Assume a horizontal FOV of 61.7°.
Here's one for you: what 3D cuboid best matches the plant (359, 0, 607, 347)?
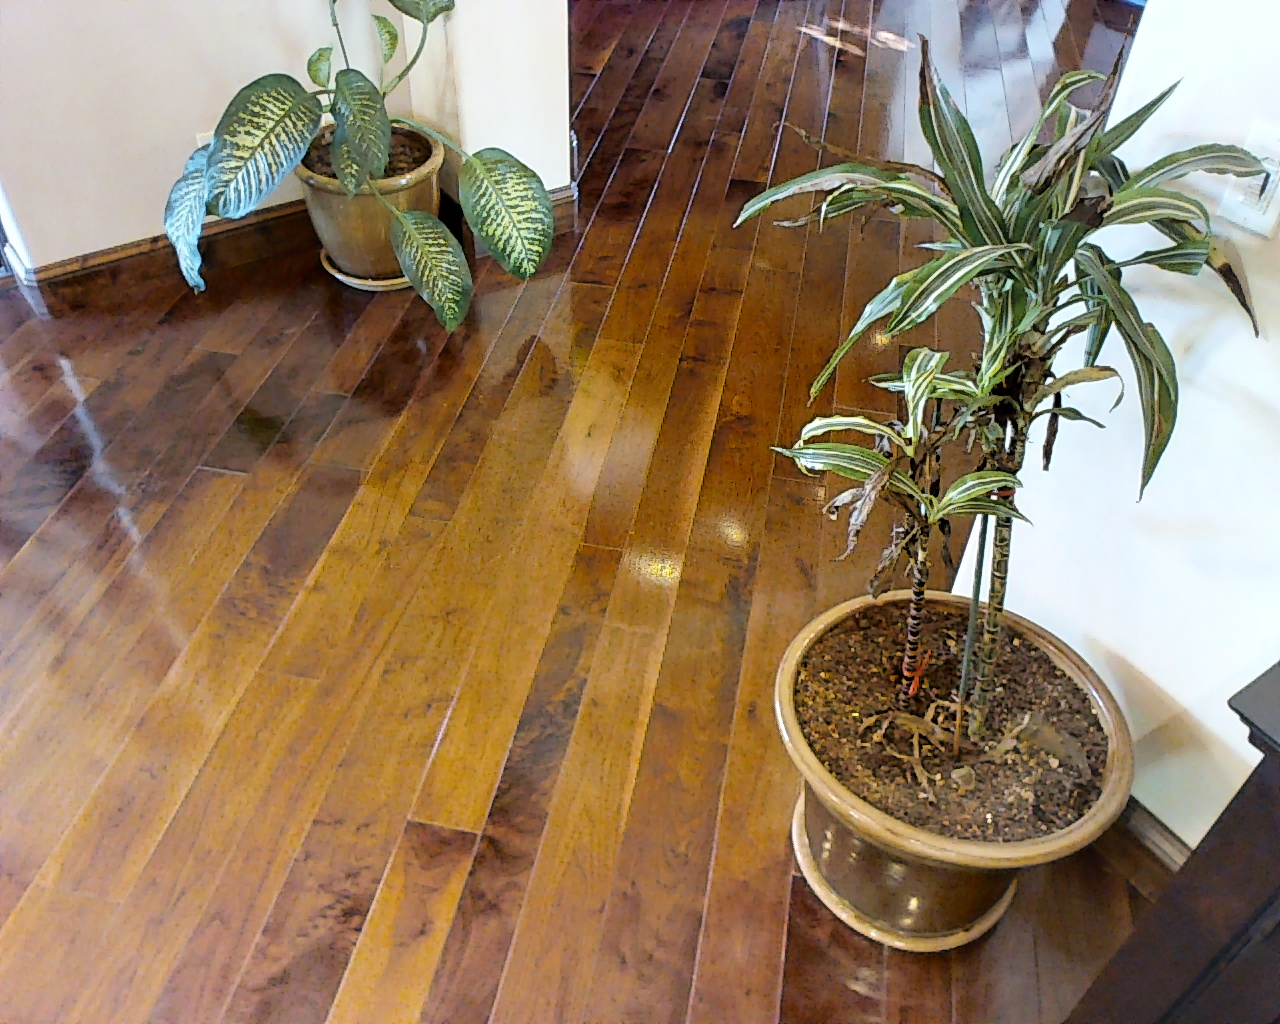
[{"bbox_3d":[-0.390,-0.960,2.730,0.380,0.840,0.540,-23,49,-25],"label":"plant"}]
